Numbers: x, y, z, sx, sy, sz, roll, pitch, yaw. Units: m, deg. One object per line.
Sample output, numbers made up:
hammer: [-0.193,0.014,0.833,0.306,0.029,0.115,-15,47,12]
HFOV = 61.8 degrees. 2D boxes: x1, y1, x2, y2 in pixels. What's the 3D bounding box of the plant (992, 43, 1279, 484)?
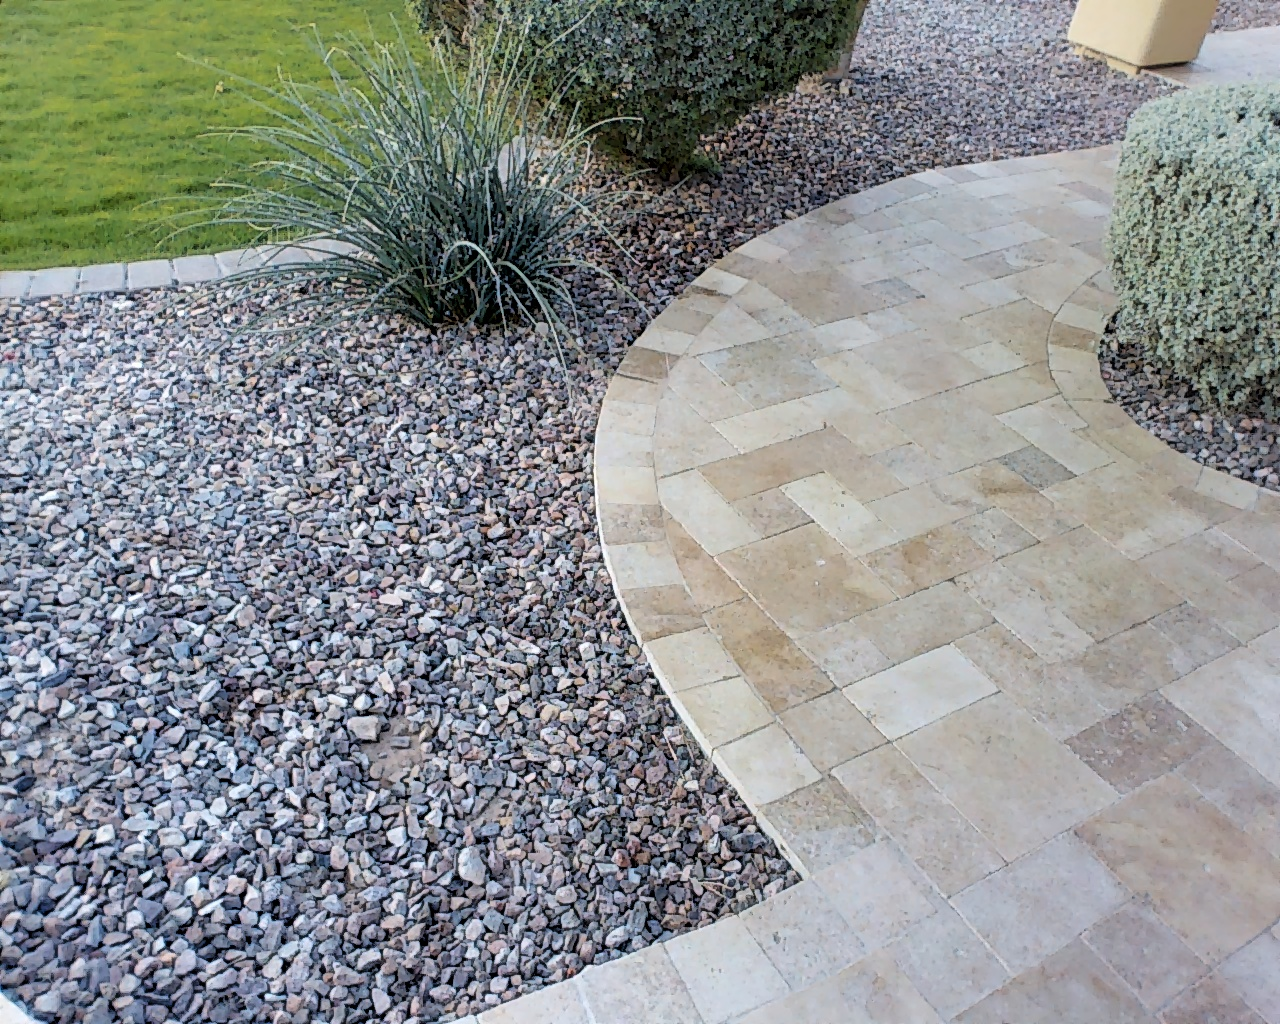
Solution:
plant: [1.701,-0.730,2.910,0.860,0.730,0.920,-17,44,-27]
